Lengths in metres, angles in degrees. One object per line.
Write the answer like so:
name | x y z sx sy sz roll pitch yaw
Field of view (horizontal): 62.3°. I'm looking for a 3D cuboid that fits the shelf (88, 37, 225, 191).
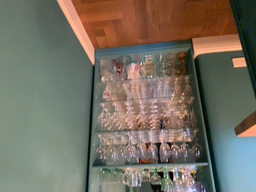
shelf | 0.250 0.670 2.020 1.020 2.270 0.760 -5 157 9
